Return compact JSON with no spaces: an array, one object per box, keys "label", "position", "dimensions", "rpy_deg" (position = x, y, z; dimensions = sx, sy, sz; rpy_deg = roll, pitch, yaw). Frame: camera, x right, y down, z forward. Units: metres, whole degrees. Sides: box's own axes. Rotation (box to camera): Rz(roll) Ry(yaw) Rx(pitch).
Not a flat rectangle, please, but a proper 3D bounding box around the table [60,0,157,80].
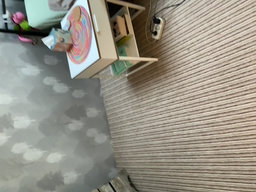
[{"label":"table","position":[-0.150,-0.420,1.630],"dimensions":[0.410,0.530,0.480],"rpy_deg":[-19,79,49]}]
